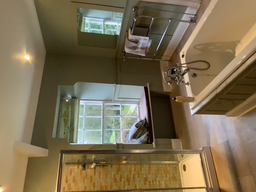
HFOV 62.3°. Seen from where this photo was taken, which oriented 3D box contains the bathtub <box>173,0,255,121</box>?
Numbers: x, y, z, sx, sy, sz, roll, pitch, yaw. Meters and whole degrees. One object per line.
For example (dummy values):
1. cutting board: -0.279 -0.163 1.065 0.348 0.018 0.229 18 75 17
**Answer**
1. bathtub: 1.090 -0.580 1.860 1.870 0.620 0.950 110 159 -60
